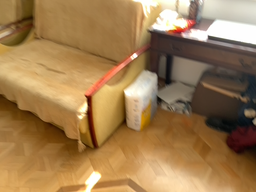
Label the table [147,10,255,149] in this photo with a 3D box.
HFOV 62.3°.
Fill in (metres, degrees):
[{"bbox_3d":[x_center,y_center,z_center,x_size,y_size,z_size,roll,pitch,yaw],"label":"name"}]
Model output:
[{"bbox_3d":[0.660,-0.160,1.660,0.920,0.740,0.410,22,45,26],"label":"table"}]
